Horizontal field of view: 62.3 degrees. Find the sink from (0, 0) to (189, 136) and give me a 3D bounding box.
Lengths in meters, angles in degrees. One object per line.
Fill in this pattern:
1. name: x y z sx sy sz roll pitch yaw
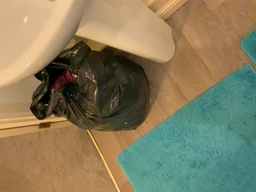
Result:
1. sink: -0.210 -0.230 0.470 0.560 0.210 0.420 -37 73 24
